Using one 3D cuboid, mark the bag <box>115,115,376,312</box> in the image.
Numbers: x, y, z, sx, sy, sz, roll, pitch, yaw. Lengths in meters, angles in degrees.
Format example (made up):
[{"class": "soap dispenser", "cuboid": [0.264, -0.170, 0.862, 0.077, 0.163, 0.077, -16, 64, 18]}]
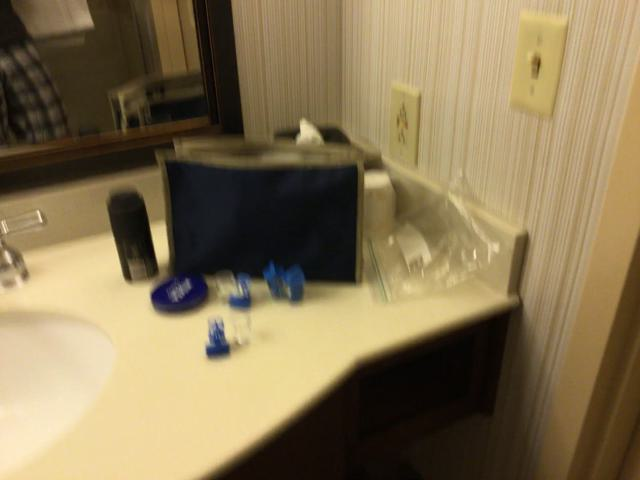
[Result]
[{"class": "bag", "cuboid": [-0.080, -0.050, 0.840, 0.310, 0.200, 0.230, 1, 28, 8]}]
